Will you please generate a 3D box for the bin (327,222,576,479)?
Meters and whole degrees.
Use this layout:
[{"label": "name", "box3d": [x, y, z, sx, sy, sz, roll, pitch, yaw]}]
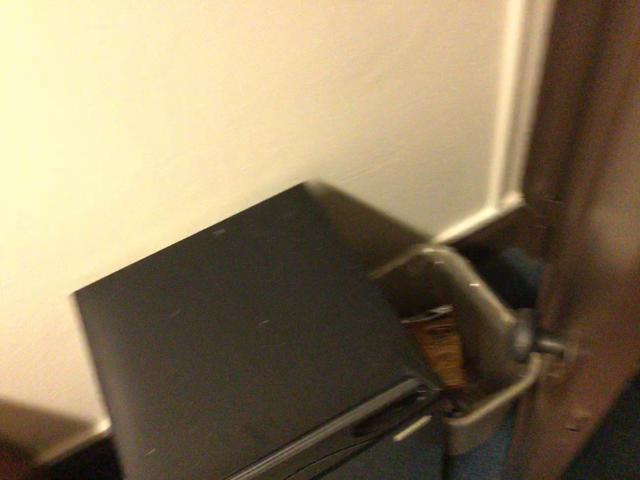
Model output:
[{"label": "bin", "box3d": [0.270, 0.280, 1.310, 0.300, 0.390, 0.410, -28, 55, -11]}]
